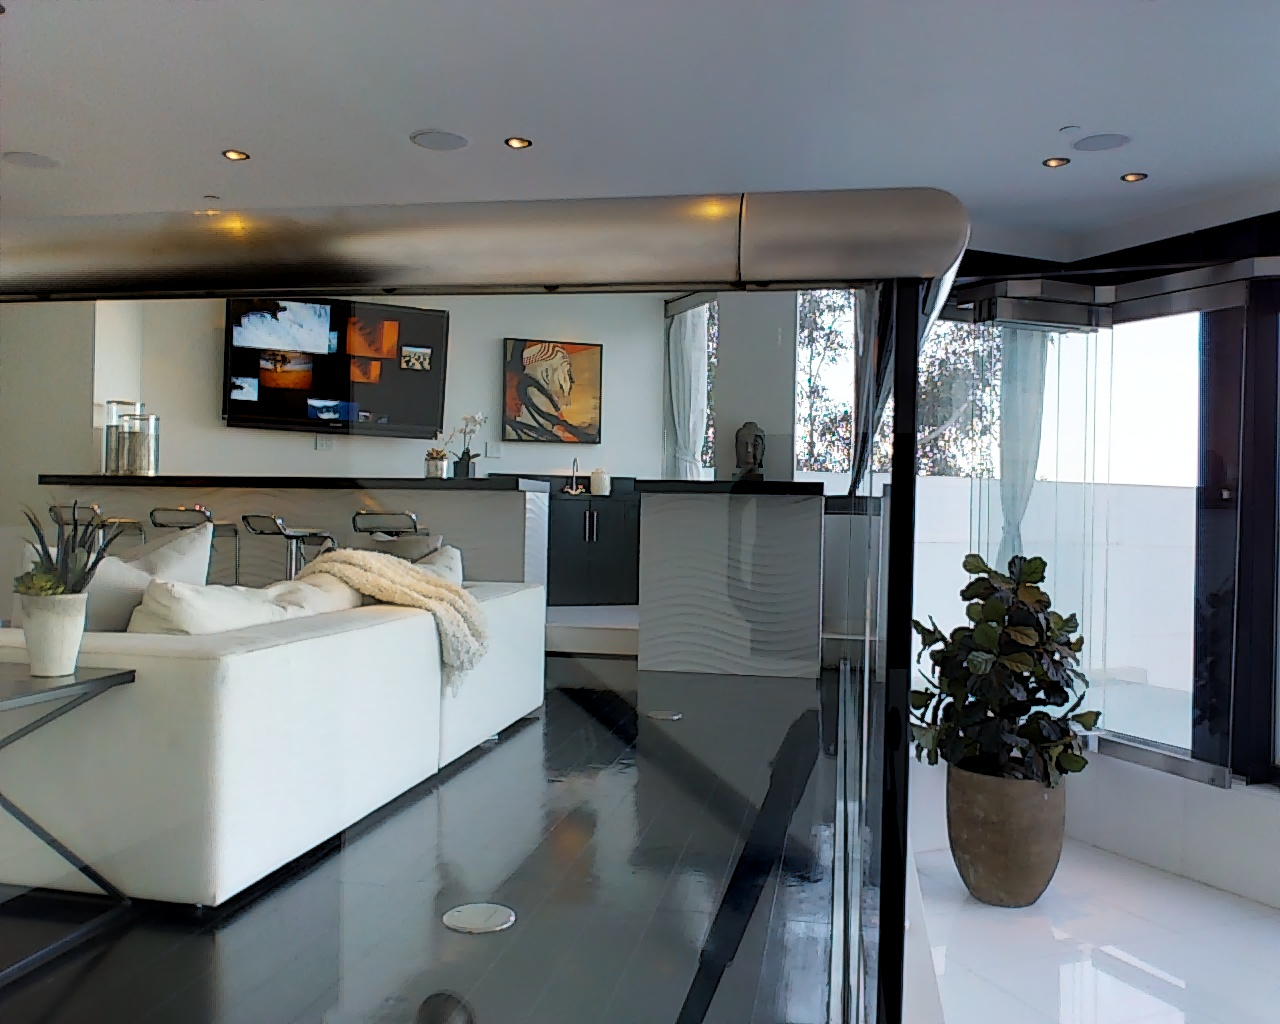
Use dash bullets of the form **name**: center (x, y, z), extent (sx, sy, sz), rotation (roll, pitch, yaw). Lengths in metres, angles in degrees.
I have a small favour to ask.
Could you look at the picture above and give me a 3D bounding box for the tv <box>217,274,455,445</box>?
- **tv**: center (-2.180, -1.060, 7.760), extent (1.600, 1.070, 0.370), rotation (1, 0, -22)
